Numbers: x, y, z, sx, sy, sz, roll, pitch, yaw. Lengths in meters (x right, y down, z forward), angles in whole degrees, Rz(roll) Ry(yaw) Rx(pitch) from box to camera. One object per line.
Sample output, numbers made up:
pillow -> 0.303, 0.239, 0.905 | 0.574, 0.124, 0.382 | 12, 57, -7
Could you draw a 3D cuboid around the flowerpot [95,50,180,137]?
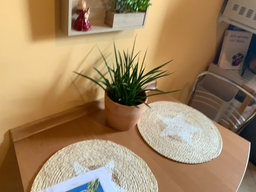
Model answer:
flowerpot -> 0.030, -0.020, 0.870 | 0.250, 0.240, 0.180 | -19, 47, -35
